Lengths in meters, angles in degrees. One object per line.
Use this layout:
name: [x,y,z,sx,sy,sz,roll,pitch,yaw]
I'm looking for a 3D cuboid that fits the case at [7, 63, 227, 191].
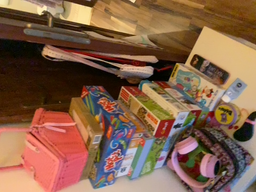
case: [-0.010,0.100,0.840,0.310,0.770,0.280,48,127,42]
